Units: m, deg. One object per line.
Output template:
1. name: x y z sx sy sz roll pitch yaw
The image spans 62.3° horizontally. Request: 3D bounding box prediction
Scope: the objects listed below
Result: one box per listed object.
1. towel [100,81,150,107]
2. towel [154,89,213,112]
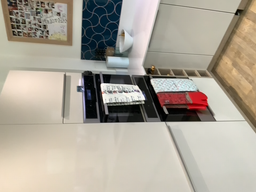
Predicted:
1. towel: -0.030 -0.020 1.710 0.220 0.360 0.070 -104 21 -45
2. towel: 0.470 0.040 1.810 0.200 0.450 0.060 -103 21 -43
